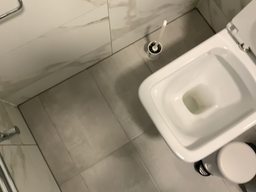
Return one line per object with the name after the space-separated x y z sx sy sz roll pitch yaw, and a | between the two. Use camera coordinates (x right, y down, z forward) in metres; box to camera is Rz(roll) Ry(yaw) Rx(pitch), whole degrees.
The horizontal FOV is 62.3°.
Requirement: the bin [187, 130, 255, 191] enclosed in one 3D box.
0.440 0.290 0.980 0.190 0.250 0.170 -33 81 -9 | bin

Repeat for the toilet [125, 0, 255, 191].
0.380 -0.070 0.760 0.650 0.840 0.390 -31 81 -8 | toilet
